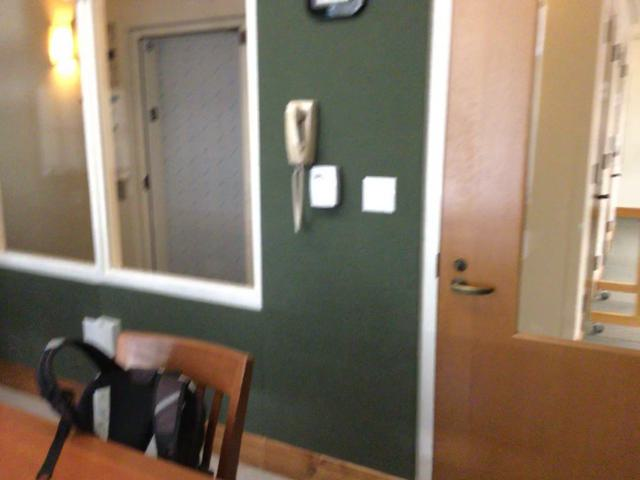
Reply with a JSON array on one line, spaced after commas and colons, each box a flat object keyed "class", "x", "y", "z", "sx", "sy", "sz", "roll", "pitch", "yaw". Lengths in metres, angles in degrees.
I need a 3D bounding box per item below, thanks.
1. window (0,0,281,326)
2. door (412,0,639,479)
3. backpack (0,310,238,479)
[{"class": "window", "x": -1.050, "y": -0.420, "z": 2.650, "sx": 1.860, "sy": 1.330, "sz": 0.280, "roll": 5, "pitch": 12, "yaw": 30}, {"class": "door", "x": 0.820, "y": 0.060, "z": 1.750, "sx": 1.060, "sy": 2.000, "sz": 0.180, "roll": 5, "pitch": 12, "yaw": 30}, {"class": "backpack", "x": -0.450, "y": 0.480, "z": 1.380, "sx": 0.380, "sy": 0.520, "sz": 0.330, "roll": 2, "pitch": 11, "yaw": 19}]
